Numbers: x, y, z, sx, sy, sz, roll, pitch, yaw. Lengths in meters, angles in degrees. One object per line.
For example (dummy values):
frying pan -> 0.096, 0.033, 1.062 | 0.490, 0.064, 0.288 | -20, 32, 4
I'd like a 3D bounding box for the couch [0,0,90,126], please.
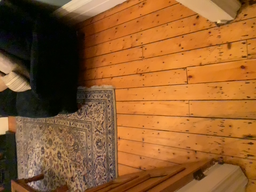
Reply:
couch -> -1.440, -0.280, 2.610 | 1.980, 0.840, 1.060 | -2, 90, 42
